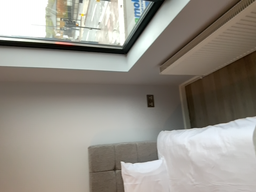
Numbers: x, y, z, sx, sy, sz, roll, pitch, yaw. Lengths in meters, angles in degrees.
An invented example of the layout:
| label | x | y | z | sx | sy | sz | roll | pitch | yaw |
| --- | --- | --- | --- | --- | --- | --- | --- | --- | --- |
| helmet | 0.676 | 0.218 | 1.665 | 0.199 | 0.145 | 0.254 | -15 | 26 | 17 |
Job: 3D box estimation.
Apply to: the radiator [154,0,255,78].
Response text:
| label | x | y | z | sx | sy | sz | roll | pitch | yaw |
| --- | --- | --- | --- | --- | --- | --- | --- | --- | --- |
| radiator | 0.710 | -0.370 | 1.430 | 1.310 | 0.550 | 0.090 | 146 | 123 | -67 |

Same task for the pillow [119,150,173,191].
| label | x | y | z | sx | sy | sz | roll | pitch | yaw |
| --- | --- | --- | --- | --- | --- | --- | --- | --- | --- |
| pillow | 0.180 | 0.900 | 1.940 | 0.140 | 0.440 | 0.720 | 106 | 157 | -77 |
